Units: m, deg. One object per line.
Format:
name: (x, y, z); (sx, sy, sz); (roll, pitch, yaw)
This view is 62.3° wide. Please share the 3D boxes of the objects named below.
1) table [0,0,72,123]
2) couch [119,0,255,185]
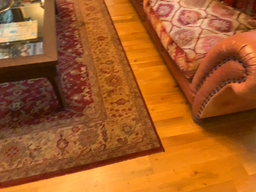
table: (-0.940, -0.520, 1.590); (0.820, 0.470, 1.430); (-9, 51, -12)
couch: (0.600, -0.840, 1.730); (1.070, 0.830, 2.620); (-7, 50, -10)
